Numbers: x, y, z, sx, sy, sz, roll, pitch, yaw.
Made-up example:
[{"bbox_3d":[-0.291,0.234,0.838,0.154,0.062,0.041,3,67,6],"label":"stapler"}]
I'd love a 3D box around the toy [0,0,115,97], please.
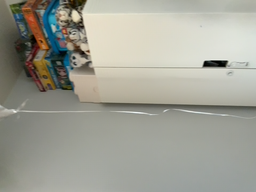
[{"bbox_3d":[-0.440,-0.370,1.400,0.640,0.620,0.420,87,-175,-47],"label":"toy"}]
